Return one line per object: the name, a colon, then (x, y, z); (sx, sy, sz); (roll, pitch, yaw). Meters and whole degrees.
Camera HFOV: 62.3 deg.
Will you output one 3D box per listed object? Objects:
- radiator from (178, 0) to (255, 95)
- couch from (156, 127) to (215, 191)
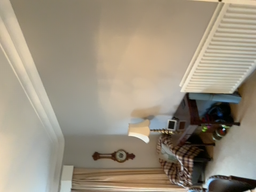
radiator: (1.090, -0.420, 2.210); (1.330, 0.760, 0.090); (100, 170, -57)
couch: (0.980, 1.110, 3.860); (0.870, 0.690, 0.780); (-105, 17, -73)
